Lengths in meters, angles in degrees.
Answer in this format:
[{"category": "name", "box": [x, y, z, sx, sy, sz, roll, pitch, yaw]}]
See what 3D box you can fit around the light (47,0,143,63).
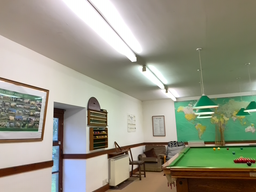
[{"category": "light", "box": [-0.230, -0.770, 2.650, 0.240, 0.150, 1.900, -6, -10, 21]}]
